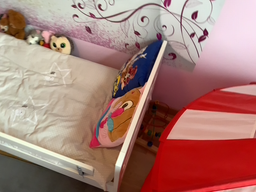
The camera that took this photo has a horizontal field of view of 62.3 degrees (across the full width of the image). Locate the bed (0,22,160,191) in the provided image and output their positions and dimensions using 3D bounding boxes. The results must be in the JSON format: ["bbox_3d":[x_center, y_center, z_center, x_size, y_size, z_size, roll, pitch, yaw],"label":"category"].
[{"bbox_3d":[-0.720,-0.010,1.460,1.680,0.410,0.800,18,53,7],"label":"bed"}]

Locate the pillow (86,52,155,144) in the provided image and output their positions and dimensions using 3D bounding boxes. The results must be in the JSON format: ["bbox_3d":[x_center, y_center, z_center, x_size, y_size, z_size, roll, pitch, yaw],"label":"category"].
[{"bbox_3d":[-0.020,-0.020,1.200,0.140,0.300,0.510,31,31,-1],"label":"pillow"}]
